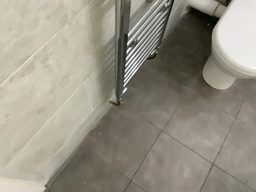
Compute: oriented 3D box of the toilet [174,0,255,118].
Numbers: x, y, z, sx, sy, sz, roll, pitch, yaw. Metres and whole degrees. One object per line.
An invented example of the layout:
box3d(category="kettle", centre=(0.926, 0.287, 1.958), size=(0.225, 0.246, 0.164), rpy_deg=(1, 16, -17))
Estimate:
box3d(category="toilet", centre=(0.680, -0.390, 1.130), size=(0.390, 0.800, 0.690), rpy_deg=(32, 67, 11))
